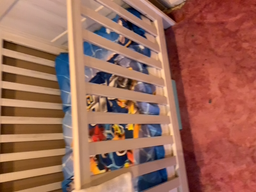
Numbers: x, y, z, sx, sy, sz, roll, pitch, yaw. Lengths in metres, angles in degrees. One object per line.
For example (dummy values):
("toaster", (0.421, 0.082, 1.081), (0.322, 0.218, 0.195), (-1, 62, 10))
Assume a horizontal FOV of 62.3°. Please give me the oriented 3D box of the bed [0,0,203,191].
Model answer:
("bed", (-0.220, 0.210, 1.170), (0.810, 0.930, 1.550), (-16, 74, 36))
